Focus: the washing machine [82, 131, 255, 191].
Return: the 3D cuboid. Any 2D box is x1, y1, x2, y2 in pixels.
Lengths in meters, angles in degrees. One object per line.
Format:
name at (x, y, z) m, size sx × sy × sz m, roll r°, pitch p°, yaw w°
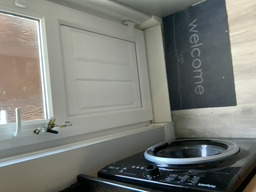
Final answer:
washing machine at (0.330, 0.560, 1.110) m, size 0.660 × 0.840 × 0.610 m, roll -8°, pitch 87°, yaw 42°
